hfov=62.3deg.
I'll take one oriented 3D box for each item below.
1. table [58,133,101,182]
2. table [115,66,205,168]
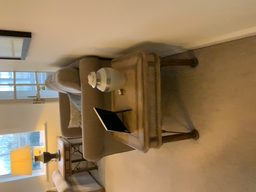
[{"bbox_3d":[-0.930,1.100,3.980,0.690,0.610,0.620,5,96,61],"label":"table"},{"bbox_3d":[0.250,0.130,1.860,0.620,0.500,0.710,4,95,61],"label":"table"}]
